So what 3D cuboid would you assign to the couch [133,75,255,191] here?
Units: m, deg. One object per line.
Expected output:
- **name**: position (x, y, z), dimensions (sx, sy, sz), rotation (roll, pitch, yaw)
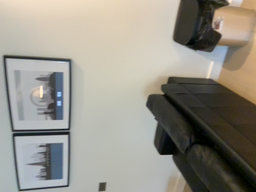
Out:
- **couch**: position (0.720, 0.610, 1.550), dimensions (1.850, 0.810, 0.910), rotation (-119, 33, -61)
